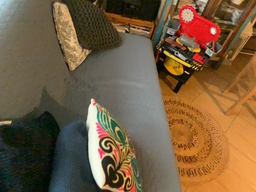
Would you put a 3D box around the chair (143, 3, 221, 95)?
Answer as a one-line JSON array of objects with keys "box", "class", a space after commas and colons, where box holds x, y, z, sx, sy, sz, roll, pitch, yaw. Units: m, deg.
[{"box": [0.500, -0.440, 2.040, 0.460, 0.620, 0.430, 24, 46, 5], "class": "chair"}]

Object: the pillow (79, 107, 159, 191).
[{"box": [-0.080, 0.290, 0.970, 0.260, 0.430, 0.370, 1, 70, -16], "class": "pillow"}]

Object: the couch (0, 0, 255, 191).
[{"box": [-0.250, -0.060, 1.290, 1.100, 0.870, 1.820, 6, 47, -12], "class": "couch"}]
